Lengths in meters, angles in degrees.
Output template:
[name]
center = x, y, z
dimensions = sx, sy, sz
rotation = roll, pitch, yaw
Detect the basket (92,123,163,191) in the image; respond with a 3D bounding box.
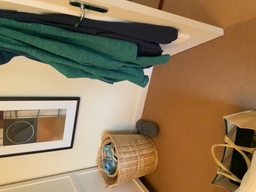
[basket]
center = -0.020, 0.570, 2.040
dimensions = 0.420, 0.450, 0.450
rotation = 34, 117, 51
